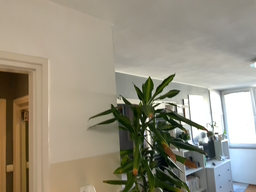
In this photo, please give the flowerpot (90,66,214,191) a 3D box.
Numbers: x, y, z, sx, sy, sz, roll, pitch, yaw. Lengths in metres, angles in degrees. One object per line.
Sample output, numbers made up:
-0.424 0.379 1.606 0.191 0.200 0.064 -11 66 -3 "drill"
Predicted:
0.120 0.360 1.240 0.400 0.910 0.560 3 -9 -43 "flowerpot"
